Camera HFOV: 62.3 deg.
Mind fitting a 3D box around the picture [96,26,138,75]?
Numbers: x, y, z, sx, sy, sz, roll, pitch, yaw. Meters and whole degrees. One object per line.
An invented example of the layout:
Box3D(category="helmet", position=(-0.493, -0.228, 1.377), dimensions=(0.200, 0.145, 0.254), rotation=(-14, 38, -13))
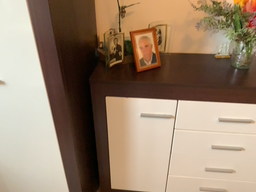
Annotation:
Box3D(category="picture", position=(-0.050, -0.250, 1.130), dimensions=(0.170, 0.190, 0.200), rotation=(7, 32, 10))

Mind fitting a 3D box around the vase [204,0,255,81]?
Box3D(category="vase", position=(0.620, -0.310, 1.100), dimensions=(0.320, 0.390, 0.250), rotation=(4, 32, 6))

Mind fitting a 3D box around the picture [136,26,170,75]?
Box3D(category="picture", position=(0.130, -0.240, 1.100), dimensions=(0.150, 0.190, 0.170), rotation=(6, 32, 9))
